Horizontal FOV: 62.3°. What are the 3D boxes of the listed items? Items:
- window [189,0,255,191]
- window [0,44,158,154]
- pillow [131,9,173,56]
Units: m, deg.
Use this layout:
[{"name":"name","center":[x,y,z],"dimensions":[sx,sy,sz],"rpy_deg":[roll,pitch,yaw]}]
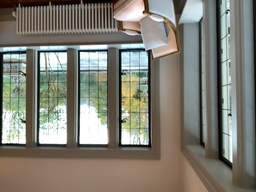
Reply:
[{"name":"window","center":[0.890,-0.240,2.080],"dimensions":[0.080,1.760,2.540],"rpy_deg":[0,179,5]},{"name":"window","center":[-0.960,0.040,3.560],"dimensions":[2.900,1.810,0.100],"rpy_deg":[0,179,1]},{"name":"pillow","center":[0.300,-0.820,2.790],"dimensions":[0.190,0.360,0.470],"rpy_deg":[-29,177,-31]}]
